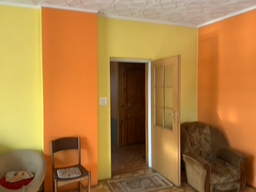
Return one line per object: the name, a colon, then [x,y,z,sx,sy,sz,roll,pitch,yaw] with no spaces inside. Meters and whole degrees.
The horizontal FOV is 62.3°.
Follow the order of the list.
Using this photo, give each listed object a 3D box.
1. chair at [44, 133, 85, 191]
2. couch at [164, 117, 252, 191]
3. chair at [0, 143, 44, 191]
chair: [-0.890,1.010,2.940,0.460,0.850,0.540,-2,4,-24]
couch: [1.210,0.900,3.400,0.910,0.960,0.950,-1,4,-16]
chair: [-1.500,1.090,2.770,0.710,0.710,0.620,-2,4,-24]
